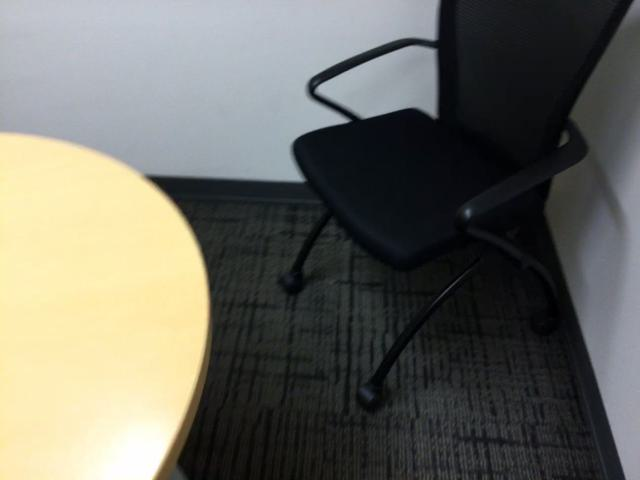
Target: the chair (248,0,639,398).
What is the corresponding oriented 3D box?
[{"bbox_3d":[0.240,-0.210,1.300,0.620,0.860,0.540,-15,43,-17],"label":"chair"}]
